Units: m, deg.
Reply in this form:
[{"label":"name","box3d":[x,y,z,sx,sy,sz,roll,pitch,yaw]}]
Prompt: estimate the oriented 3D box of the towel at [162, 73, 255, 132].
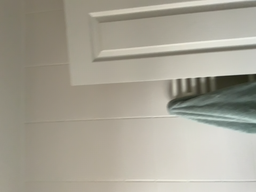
[{"label":"towel","box3d":[0.450,0.030,0.880,0.170,0.590,0.210,39,-132,-81]}]
